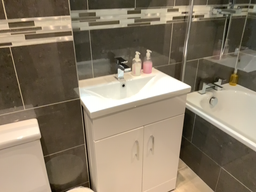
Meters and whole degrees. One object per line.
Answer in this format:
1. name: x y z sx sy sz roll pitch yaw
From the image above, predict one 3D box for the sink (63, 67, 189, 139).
1. sink: -0.020 0.000 1.280 0.630 0.150 0.390 -13 29 -25
